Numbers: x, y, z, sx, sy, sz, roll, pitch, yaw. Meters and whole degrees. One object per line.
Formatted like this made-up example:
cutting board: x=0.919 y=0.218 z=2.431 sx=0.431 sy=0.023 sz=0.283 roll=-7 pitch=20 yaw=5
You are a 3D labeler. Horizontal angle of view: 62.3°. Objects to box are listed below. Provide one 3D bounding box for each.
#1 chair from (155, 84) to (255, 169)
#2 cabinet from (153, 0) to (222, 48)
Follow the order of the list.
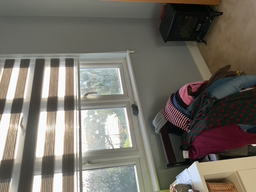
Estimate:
chair: x=0.700 y=0.250 z=1.690 sx=0.580 sy=0.790 sz=0.390 roll=103 pitch=161 yaw=-53
cabinet: x=0.650 y=-0.930 z=2.490 sx=0.440 sy=0.510 sz=0.590 roll=102 pitch=161 yaw=-52
